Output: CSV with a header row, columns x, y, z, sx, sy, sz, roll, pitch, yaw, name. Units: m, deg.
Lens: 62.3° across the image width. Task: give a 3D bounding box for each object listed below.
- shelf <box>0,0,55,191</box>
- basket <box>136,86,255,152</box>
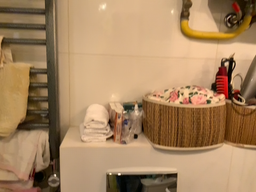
x,y,z,sx,sy,sz,roll,pitch,yaw,name
-0.470,-0.130,0.710,0.380,1.080,0.160,1,11,-8,shelf
0.310,0.080,0.790,0.530,0.190,0.170,2,11,-6,basket
